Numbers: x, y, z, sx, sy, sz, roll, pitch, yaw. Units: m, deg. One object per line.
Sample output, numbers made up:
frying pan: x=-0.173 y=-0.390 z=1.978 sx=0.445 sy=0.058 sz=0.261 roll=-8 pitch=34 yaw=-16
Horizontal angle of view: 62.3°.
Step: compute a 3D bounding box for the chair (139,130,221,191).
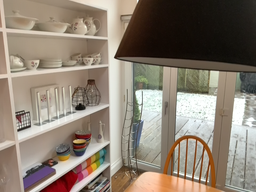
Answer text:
chair: x=0.380 y=0.820 z=1.570 sx=0.440 sy=0.960 sz=0.480 roll=7 pitch=15 yaw=27
